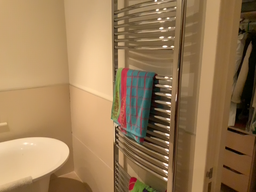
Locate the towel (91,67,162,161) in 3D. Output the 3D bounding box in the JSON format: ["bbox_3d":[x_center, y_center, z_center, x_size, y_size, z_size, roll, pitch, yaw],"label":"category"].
[{"bbox_3d":[-0.030,0.070,1.300,0.140,0.450,0.490,-11,18,-38],"label":"towel"}]
